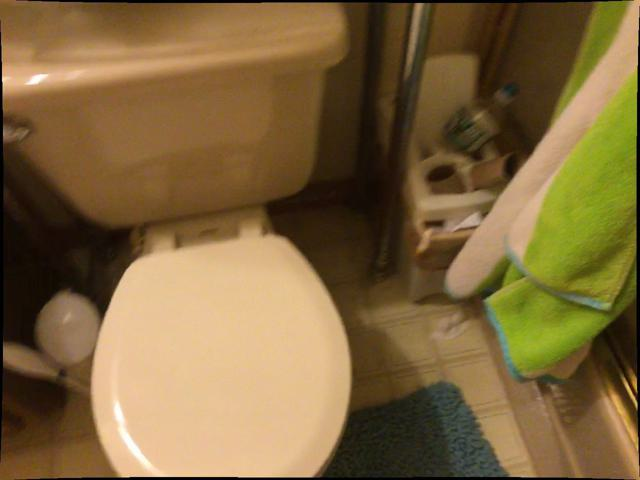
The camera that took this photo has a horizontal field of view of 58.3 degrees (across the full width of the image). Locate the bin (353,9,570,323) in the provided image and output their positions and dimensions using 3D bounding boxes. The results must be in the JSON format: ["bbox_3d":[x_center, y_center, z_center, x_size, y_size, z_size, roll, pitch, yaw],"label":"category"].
[{"bbox_3d":[0.230,-0.120,1.160,0.230,0.500,0.360,-11,59,-6],"label":"bin"}]

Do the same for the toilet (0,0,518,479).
[{"bbox_3d":[-0.160,0.070,0.900,0.500,0.720,0.690,-11,59,-6],"label":"toilet"}]
